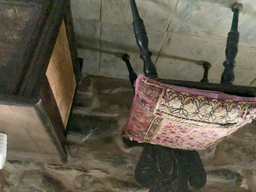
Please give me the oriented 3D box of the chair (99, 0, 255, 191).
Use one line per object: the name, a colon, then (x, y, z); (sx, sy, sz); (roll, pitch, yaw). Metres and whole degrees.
chair: (0.170, 0.120, 0.810); (0.490, 0.920, 0.560); (7, 148, -6)
